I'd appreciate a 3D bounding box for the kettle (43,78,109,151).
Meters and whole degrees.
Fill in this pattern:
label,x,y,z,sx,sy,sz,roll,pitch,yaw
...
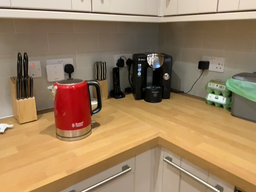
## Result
label,x,y,z,sx,sy,sz,roll,pitch,yaw
kettle,-0.200,0.060,0.850,0.210,0.220,0.130,-12,21,-37
